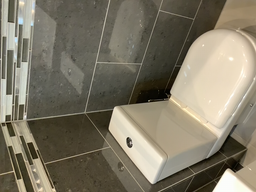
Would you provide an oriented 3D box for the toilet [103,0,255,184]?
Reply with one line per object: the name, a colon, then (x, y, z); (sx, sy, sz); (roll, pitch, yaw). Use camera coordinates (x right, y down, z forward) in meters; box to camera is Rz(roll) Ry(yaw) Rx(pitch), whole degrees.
toilet: (0.380, -0.040, 1.080); (0.380, 0.810, 0.620); (43, 126, 40)
